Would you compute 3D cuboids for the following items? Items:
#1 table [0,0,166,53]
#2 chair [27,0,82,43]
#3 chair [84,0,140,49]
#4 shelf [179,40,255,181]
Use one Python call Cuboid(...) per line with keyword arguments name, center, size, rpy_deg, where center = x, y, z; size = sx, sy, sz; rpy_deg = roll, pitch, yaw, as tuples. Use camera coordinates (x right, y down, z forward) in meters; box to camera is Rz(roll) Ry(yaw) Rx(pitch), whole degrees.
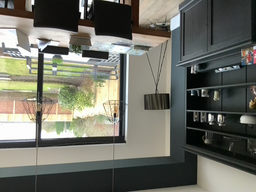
Cuboid(name="table", center=(-0.740, -1.170, 2.750), size=(2.200, 0.780, 1.030), rpy_deg=(2, 178, -19))
Cuboid(name="chair", center=(-0.840, -1.140, 2.440), size=(0.520, 0.870, 0.550), rpy_deg=(2, 178, -22))
Cuboid(name="chair", center=(-0.220, -1.120, 2.630), size=(0.520, 0.870, 0.600), rpy_deg=(2, 178, -22))
Cuboid(name="shelf", center=(1.240, 0.160, 2.750), size=(0.410, 1.390, 1.370), rpy_deg=(2, 178, -20))
